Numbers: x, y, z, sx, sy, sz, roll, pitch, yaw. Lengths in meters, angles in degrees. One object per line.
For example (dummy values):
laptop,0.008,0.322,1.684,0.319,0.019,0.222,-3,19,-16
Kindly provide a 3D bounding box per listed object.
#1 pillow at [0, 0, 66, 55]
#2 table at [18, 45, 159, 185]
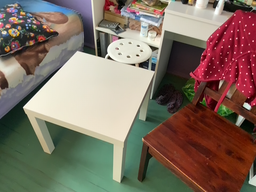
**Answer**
pillow,-0.830,-0.540,1.550,0.560,0.140,0.430,18,47,12
table,-0.190,0.090,1.370,0.570,0.470,0.600,18,47,12
